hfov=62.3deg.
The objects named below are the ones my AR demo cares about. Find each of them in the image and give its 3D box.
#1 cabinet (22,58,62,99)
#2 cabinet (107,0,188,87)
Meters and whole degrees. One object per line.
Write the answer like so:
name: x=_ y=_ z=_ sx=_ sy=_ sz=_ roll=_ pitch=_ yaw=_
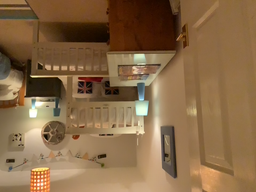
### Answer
cabinet: x=-1.790 y=-0.350 z=4.500 sx=0.630 sy=0.790 sz=0.530 roll=0 pitch=173 yaw=-3
cabinet: x=0.080 y=-0.630 z=2.010 sx=0.510 sy=0.900 sz=1.100 roll=0 pitch=173 yaw=-8
